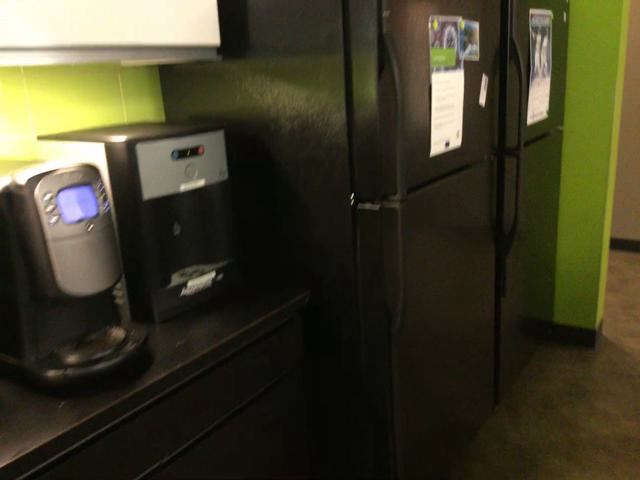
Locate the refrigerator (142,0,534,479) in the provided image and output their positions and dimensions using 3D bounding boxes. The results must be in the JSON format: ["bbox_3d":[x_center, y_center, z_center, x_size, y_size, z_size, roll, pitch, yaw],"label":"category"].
[{"bbox_3d":[0.180,0.030,1.940,0.690,1.660,0.940,5,21,39],"label":"refrigerator"}]

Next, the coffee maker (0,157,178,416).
[{"bbox_3d":[-0.530,0.070,1.190,0.290,0.430,0.260,5,21,39],"label":"coffee maker"}]

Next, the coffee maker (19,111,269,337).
[{"bbox_3d":[-0.460,-0.070,1.560,0.420,0.470,0.390,5,21,39],"label":"coffee maker"}]
